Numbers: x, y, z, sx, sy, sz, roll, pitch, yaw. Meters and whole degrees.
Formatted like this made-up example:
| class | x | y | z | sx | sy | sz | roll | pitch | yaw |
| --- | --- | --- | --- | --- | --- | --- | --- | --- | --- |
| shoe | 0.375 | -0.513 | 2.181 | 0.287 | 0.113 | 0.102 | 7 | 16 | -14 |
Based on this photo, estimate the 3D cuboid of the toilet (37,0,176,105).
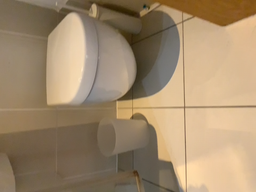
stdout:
| class | x | y | z | sx | sy | sz | roll | pitch | yaw |
| --- | --- | --- | --- | --- | --- | --- | --- | --- | --- |
| toilet | -0.140 | -0.150 | 1.080 | 0.550 | 0.490 | 0.380 | -5 | 85 | 54 |
